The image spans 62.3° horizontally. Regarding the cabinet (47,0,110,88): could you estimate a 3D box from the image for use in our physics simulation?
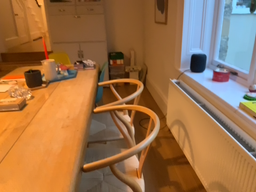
[{"bbox_3d":[-0.810,-1.010,3.720,0.900,1.650,0.430,-2,21,-3],"label":"cabinet"}]
